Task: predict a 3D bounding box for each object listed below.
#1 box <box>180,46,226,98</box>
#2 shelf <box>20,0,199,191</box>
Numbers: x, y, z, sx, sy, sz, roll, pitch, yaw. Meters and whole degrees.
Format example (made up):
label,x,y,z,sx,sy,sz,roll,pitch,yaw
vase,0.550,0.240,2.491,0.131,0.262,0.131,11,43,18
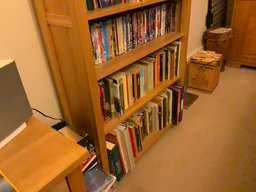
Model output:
label,x,y,z,sx,sy,sz,roll,pitch,yaw
box,0.800,-0.270,2.280,0.330,0.410,0.300,20,38,35
shelf,0.000,-0.490,1.130,0.380,1.990,0.960,20,38,35
